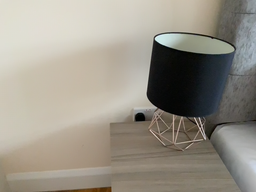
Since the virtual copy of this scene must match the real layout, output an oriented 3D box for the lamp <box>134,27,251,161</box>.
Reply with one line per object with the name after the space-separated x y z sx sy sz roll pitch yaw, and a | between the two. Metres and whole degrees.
0.190 -0.010 0.810 0.310 0.430 0.250 -3 30 -3 | lamp
